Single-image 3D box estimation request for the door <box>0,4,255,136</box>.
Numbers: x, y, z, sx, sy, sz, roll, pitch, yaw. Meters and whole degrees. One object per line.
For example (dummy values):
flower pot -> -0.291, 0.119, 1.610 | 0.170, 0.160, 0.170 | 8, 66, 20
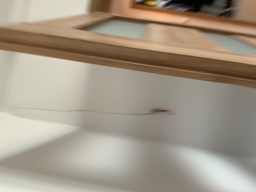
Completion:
door -> 0.720, -0.100, 0.760 | 0.930, 1.970, 0.140 | -76, -4, -66
